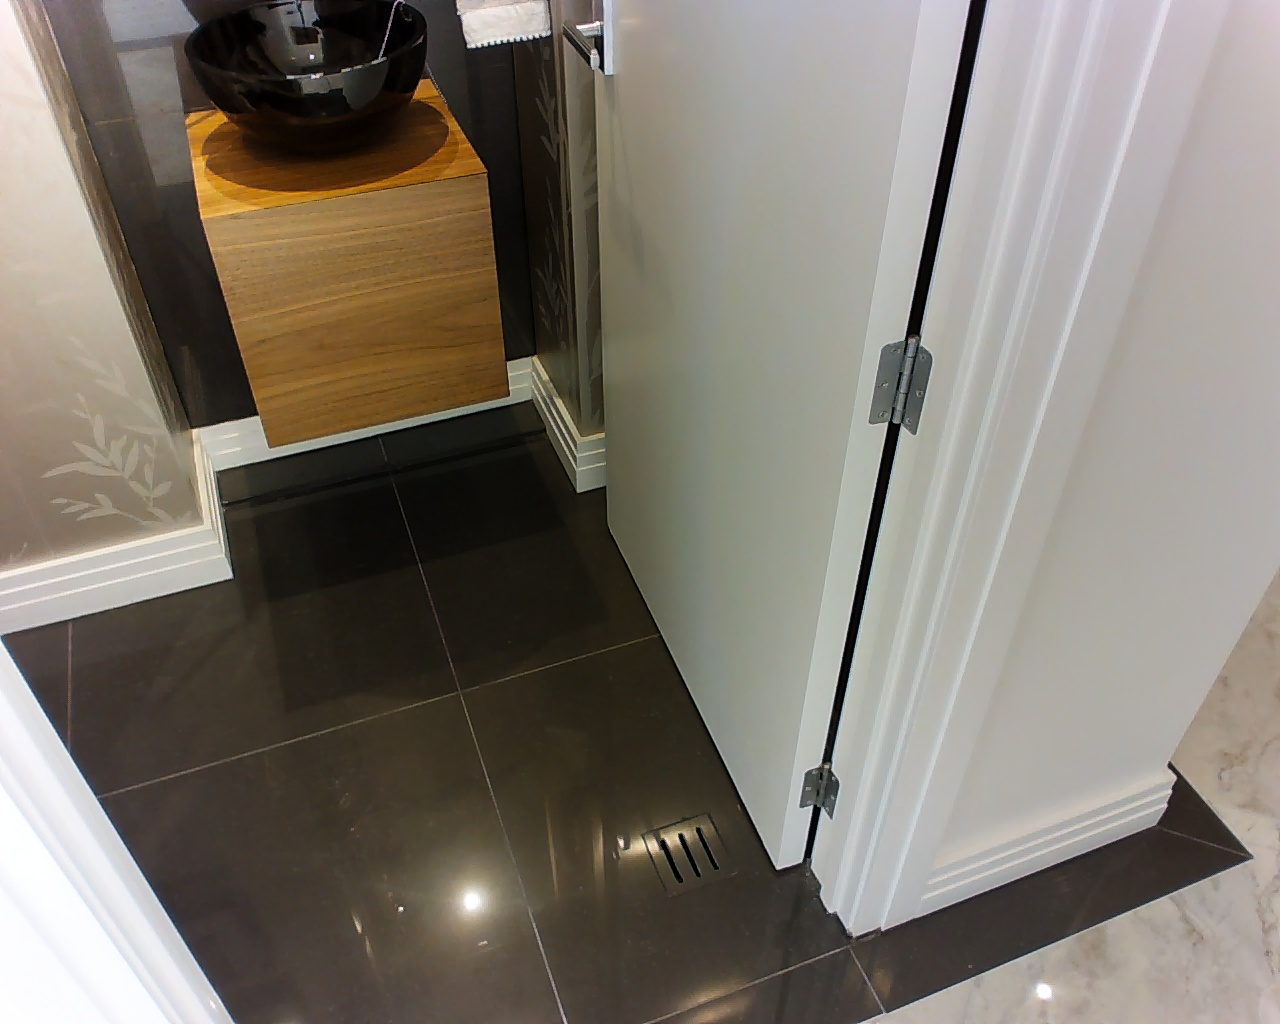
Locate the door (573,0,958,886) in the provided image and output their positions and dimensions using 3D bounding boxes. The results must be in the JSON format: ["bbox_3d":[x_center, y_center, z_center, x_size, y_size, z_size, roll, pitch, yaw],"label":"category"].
[{"bbox_3d":[0.060,-0.640,1.010,0.030,2.370,0.880,-13,44,-14],"label":"door"}]
